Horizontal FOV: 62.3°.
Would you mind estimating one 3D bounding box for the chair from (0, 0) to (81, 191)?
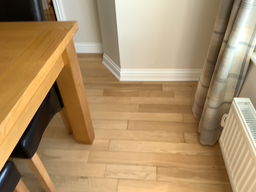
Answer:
[{"bbox_3d":[-0.620,-0.050,1.050,0.440,1.030,0.620,1,40,5],"label":"chair"}]
